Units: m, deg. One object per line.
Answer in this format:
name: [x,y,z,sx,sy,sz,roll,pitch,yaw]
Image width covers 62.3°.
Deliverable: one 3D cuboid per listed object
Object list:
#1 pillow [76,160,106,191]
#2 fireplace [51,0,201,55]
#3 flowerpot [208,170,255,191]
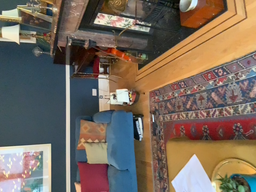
pillow: [-0.530,1.160,3.080,0.220,0.410,0.400,121,147,-75]
fireplace: [-0.090,-0.990,2.250,1.970,1.240,0.310,156,114,-64]
flowerpot: [0.590,0.480,1.070,0.260,0.210,0.150,157,113,-64]
